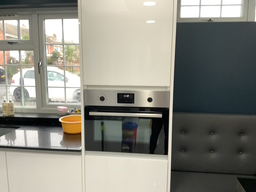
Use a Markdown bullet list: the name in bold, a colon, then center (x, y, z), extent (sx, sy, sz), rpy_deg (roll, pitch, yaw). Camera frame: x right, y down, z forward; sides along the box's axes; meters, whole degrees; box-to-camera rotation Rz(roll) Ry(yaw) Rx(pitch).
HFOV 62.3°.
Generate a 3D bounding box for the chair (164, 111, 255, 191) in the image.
- **chair**: center (1.230, 0.740, 1.770), extent (1.780, 1.080, 0.560), rpy_deg (1, 9, 6)
